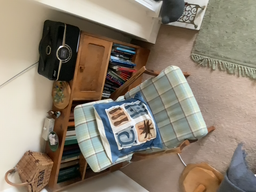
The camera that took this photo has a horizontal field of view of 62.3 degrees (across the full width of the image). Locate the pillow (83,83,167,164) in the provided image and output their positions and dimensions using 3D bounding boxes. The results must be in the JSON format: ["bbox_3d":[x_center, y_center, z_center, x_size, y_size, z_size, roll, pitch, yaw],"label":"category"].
[{"bbox_3d":[-0.020,0.210,1.540,0.410,0.370,0.270,39,150,-9],"label":"pillow"}]

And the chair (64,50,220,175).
[{"bbox_3d":[0.110,0.140,1.570,0.770,0.710,0.550,-25,77,35],"label":"chair"}]
